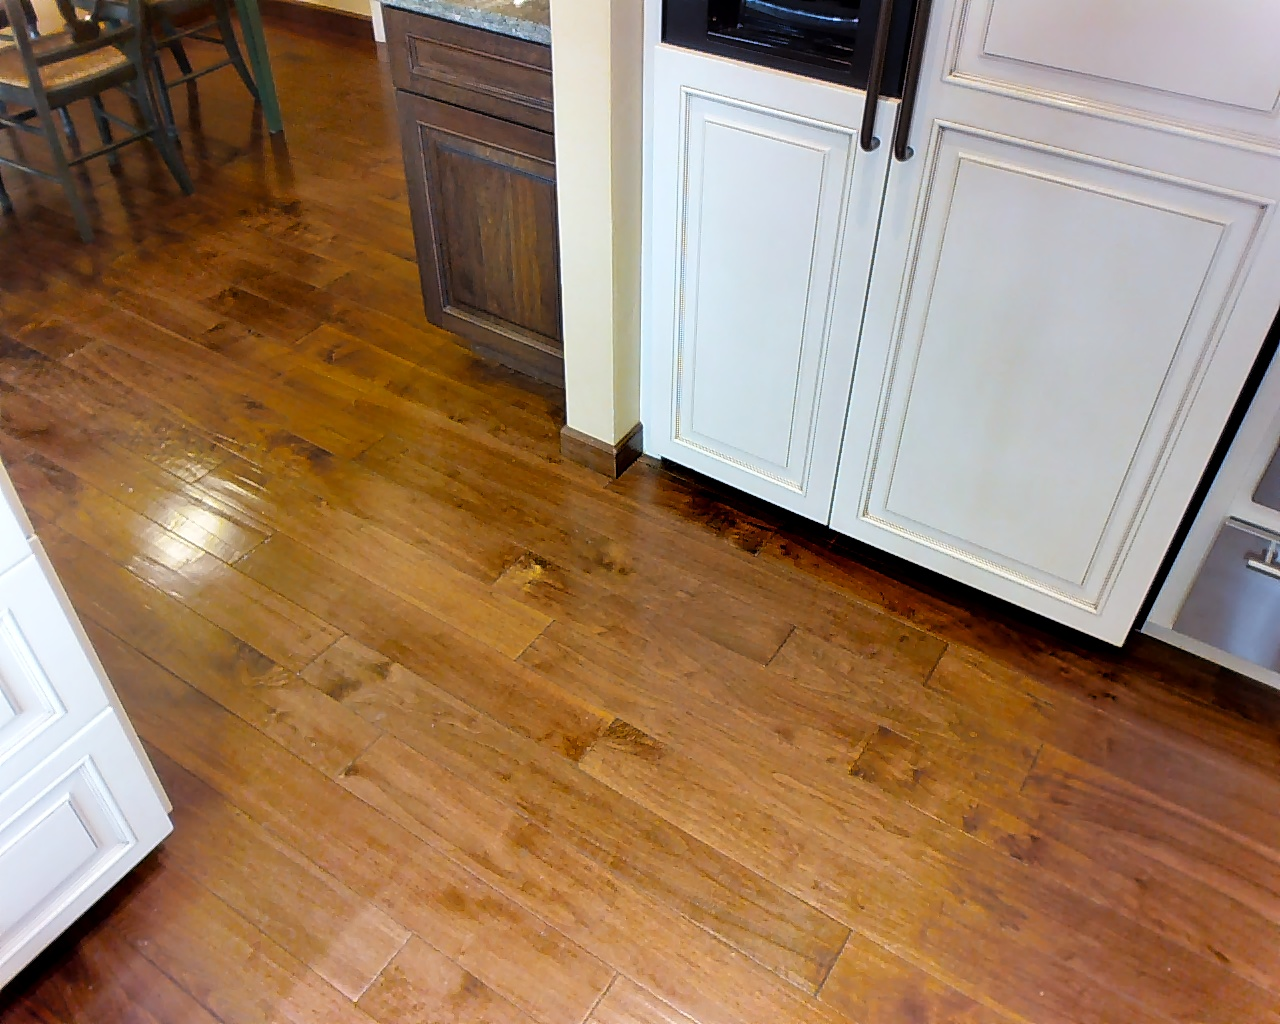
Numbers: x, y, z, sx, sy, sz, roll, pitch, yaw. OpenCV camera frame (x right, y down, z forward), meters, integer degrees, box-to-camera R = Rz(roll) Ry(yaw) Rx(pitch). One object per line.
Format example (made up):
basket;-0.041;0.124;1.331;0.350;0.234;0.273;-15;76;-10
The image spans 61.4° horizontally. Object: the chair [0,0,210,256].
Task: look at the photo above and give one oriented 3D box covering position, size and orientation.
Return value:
chair;-1.700;-1.260;3.150;0.420;0.780;0.500;24;47;24
